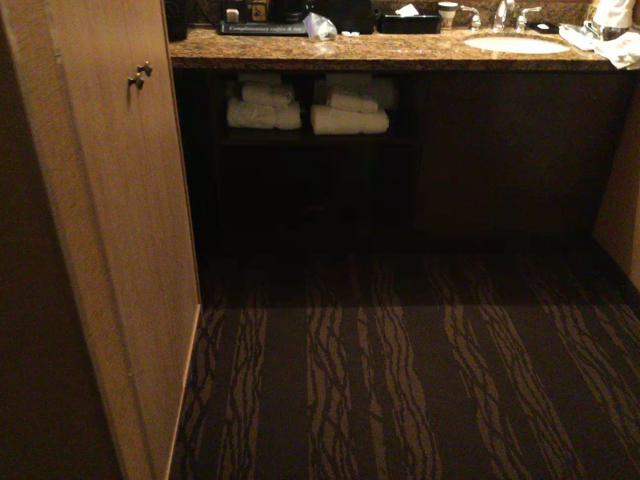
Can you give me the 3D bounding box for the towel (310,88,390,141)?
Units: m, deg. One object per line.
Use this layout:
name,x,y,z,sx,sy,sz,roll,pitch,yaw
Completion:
towel,0.110,-0.490,2.240,0.290,0.120,0.200,-3,34,-1

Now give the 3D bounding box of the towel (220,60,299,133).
towel,-0.230,-0.580,2.310,0.280,0.160,0.340,-3,34,-1

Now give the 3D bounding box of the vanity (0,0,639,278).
vanity,0.070,-0.530,2.360,2.160,1.110,0.620,-3,34,-1
